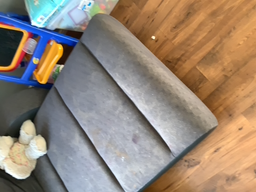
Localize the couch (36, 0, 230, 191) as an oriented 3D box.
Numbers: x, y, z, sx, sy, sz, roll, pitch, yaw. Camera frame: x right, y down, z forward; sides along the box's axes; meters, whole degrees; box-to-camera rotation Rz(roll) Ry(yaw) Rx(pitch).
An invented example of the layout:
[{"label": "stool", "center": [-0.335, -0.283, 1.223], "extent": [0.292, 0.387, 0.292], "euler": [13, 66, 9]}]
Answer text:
[{"label": "couch", "center": [-0.050, 0.060, 1.390], "extent": [0.970, 0.430, 0.790], "euler": [51, 119, 21]}]
